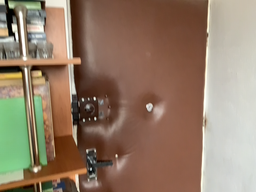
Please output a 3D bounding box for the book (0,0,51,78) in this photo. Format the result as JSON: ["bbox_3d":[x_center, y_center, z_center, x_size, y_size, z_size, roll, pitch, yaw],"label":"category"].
[{"bbox_3d":[-0.390,-0.260,0.760,0.190,0.370,0.310,-3,9,-20],"label":"book"}]
